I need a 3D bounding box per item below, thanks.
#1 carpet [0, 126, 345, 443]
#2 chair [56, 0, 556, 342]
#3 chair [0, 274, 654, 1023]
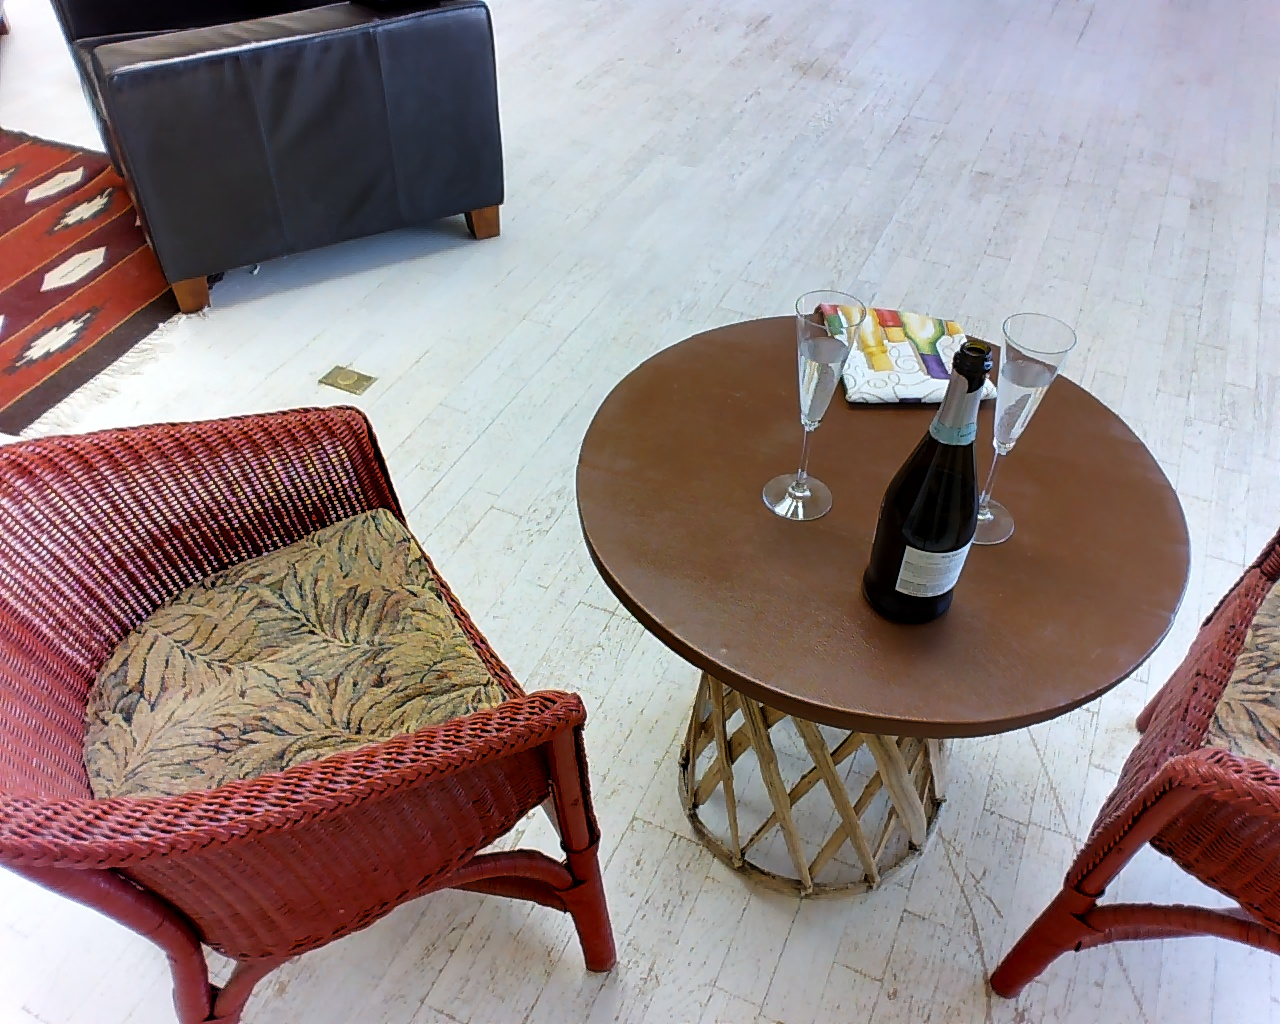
[{"bbox_3d":[-2.029,-0.790,2.960,2.060,0.020,1.180,15,45,15],"label":"carpet"},{"bbox_3d":[-0.890,-1.190,2.730,0.990,0.900,1.000,-19,46,-20],"label":"chair"},{"bbox_3d":[-0.440,0.280,1.260,0.670,0.750,0.610,-25,49,-25],"label":"chair"}]
